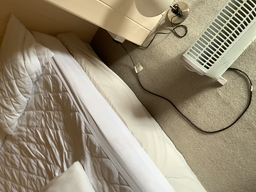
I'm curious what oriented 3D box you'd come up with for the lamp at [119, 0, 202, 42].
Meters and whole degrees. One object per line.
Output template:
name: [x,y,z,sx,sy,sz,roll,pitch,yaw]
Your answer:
lamp: [0.190,-0.520,1.210,0.230,0.450,0.220,49,114,29]
